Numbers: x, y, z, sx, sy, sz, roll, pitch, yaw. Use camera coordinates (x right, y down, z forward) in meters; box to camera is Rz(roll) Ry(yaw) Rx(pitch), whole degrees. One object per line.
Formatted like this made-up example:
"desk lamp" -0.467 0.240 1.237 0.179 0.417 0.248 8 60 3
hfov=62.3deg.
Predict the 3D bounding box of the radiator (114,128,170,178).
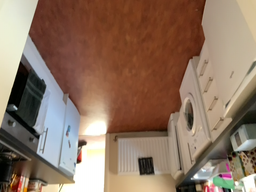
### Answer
"radiator" 0.210 0.930 3.510 0.870 0.740 0.150 -3 150 2

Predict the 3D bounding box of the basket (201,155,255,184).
"basket" 0.900 0.680 1.940 0.350 0.170 0.350 -4 150 3
